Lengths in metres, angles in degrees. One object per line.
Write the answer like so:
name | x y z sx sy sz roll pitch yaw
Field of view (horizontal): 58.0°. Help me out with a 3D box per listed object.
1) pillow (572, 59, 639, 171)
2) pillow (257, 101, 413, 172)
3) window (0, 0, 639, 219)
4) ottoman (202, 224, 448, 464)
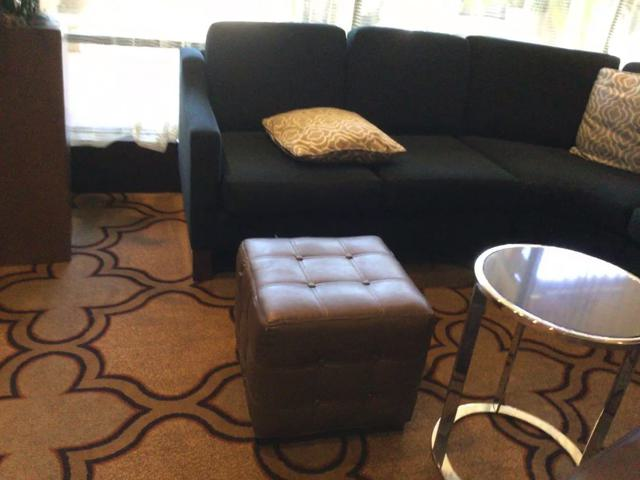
pillow | 1.490 -0.580 2.680 0.480 0.430 0.320 14 32 33
pillow | 0.040 -0.460 2.520 0.550 0.170 0.510 -1 25 -15
window | 0.570 -0.890 2.980 3.950 1.420 0.490 -1 25 -15
ottoman | -0.040 0.270 1.760 0.590 0.440 0.560 -1 25 -15
